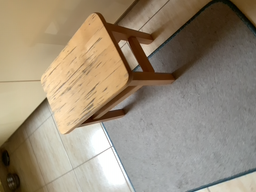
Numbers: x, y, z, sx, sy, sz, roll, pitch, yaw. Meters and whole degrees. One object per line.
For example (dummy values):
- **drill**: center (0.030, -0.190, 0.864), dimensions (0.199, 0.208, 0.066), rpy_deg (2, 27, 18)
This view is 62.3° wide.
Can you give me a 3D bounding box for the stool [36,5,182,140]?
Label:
- **stool**: center (-0.070, -0.060, 0.740), dimensions (0.350, 0.290, 0.240), rpy_deg (-36, 74, 34)
